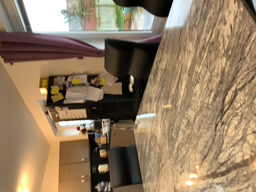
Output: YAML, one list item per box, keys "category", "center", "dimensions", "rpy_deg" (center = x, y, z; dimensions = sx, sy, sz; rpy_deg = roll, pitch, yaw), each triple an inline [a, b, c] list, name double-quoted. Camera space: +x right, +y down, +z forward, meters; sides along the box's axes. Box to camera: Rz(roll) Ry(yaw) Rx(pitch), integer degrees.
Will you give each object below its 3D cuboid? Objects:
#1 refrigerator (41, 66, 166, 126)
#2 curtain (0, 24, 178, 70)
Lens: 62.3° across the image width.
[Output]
- category: "refrigerator"
  center: [-0.390, -0.010, 3.550]
  dimensions: [0.590, 1.840, 0.690]
  rpy_deg: [103, 161, -59]
- category: "curtain"
  center: [-0.490, -0.670, 2.910]
  dimensions: [0.530, 2.220, 0.320]
  rpy_deg: [111, 154, -67]
